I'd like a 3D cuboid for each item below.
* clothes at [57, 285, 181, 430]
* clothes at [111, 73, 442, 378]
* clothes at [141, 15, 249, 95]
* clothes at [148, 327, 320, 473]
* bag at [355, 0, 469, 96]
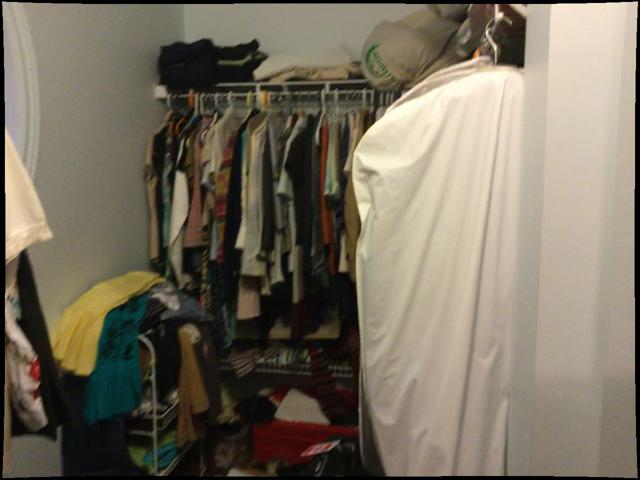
[{"bbox_3d":[-0.669,0.380,1.980,0.220,0.370,0.370,2,9,13],"label":"clothes"},{"bbox_3d":[-0.150,-0.080,2.350,1.229,1.071,0.420,2,9,13],"label":"clothes"},{"bbox_3d":[-0.549,-0.821,2.620,0.320,0.270,0.430,2,9,13],"label":"clothes"},{"bbox_3d":[-0.340,0.651,2.470,0.589,0.400,0.460,2,9,13],"label":"clothes"},{"bbox_3d":[0.380,-0.821,2.330,0.410,0.420,0.420,2,9,13],"label":"bag"}]
